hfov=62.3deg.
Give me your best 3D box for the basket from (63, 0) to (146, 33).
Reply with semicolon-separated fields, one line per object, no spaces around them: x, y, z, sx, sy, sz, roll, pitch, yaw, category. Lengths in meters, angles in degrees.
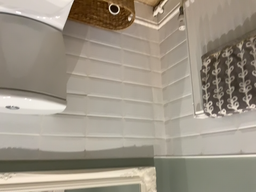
-0.120;-0.530;1.110;0.370;0.240;0.200;7;162;-28;basket
